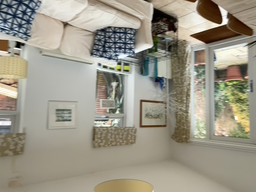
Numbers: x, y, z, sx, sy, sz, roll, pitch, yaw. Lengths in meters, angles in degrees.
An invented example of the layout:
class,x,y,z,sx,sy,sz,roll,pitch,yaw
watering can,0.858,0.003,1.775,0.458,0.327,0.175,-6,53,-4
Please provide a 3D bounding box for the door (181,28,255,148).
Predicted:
class,x,y,z,sx,sy,sz,roll,pitch,yaw
door,2.160,-0.140,3.820,0.170,2.070,2.710,6,173,-40

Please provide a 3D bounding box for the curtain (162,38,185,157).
class,x,y,z,sx,sy,sz,roll,pitch,yaw
curtain,0.960,0.020,4.490,0.190,2.410,0.420,6,173,-44

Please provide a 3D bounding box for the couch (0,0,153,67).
class,x,y,z,sx,sy,sz,roll,pitch,yaw
couch,-0.760,-0.980,2.660,1.960,0.750,1.090,6,173,-41
